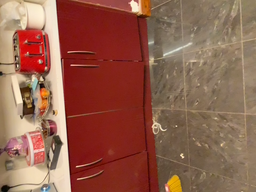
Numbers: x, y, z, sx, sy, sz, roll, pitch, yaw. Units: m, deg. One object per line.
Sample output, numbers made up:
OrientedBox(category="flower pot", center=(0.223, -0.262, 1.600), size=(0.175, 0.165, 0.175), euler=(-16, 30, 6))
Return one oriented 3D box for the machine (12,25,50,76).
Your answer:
OrientedBox(category="machine", center=(-0.680, -0.300, 1.480), size=(0.220, 0.180, 0.300), euler=(0, 94, 53))
